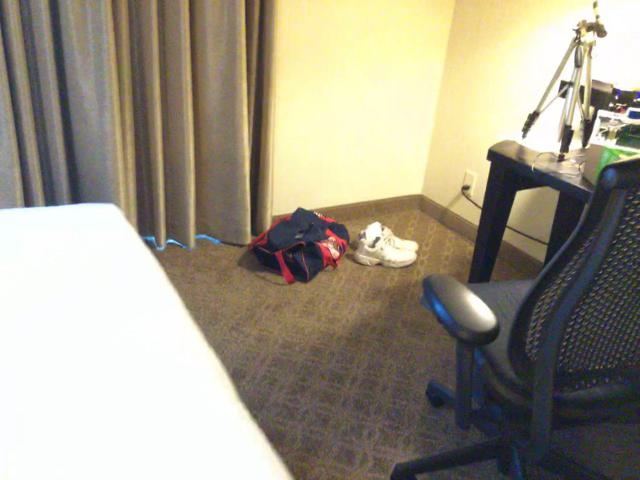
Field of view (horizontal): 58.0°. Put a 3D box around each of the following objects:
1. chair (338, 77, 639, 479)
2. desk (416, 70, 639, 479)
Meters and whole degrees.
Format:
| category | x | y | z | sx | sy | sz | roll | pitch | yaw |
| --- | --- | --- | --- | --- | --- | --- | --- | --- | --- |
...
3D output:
| category | x | y | z | sx | sy | sz | roll | pitch | yaw |
| --- | --- | --- | --- | --- | --- | --- | --- | --- | --- |
| chair | 0.540 | 0.200 | 1.420 | 0.670 | 1.070 | 0.760 | -6 | 23 | -22 |
| desk | 1.080 | 0.110 | 1.760 | 0.670 | 1.050 | 1.510 | -8 | 24 | -27 |
